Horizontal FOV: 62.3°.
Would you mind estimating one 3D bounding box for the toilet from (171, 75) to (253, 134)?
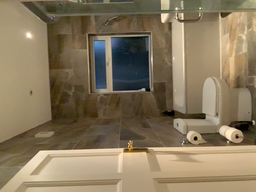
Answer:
[{"bbox_3d":[0.940,0.080,2.460,0.400,0.790,0.610,-113,21,-87],"label":"toilet"}]

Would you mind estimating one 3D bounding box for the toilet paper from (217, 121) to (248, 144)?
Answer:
[{"bbox_3d":[0.950,0.330,1.950,0.250,0.160,0.140,-107,15,-86],"label":"toilet paper"}]

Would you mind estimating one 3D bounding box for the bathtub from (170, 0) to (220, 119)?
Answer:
[{"bbox_3d":[1.030,-0.570,3.360,0.670,0.540,1.760,-116,24,-87],"label":"bathtub"}]
